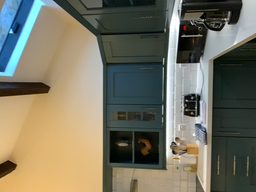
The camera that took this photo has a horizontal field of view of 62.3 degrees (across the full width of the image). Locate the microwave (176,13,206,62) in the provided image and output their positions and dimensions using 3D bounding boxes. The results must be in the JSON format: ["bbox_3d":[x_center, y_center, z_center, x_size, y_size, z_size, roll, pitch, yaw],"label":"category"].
[{"bbox_3d":[0.750,-0.710,2.580,0.410,0.260,0.420,-81,-11,-46],"label":"microwave"}]
